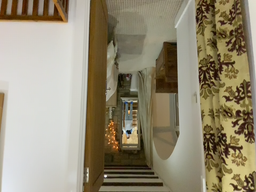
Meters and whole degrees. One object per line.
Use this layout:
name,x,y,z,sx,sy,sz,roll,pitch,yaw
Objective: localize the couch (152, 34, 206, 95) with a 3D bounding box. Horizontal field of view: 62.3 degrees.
couch,0.830,-0.490,3.760,0.640,0.790,1.070,0,171,-2
